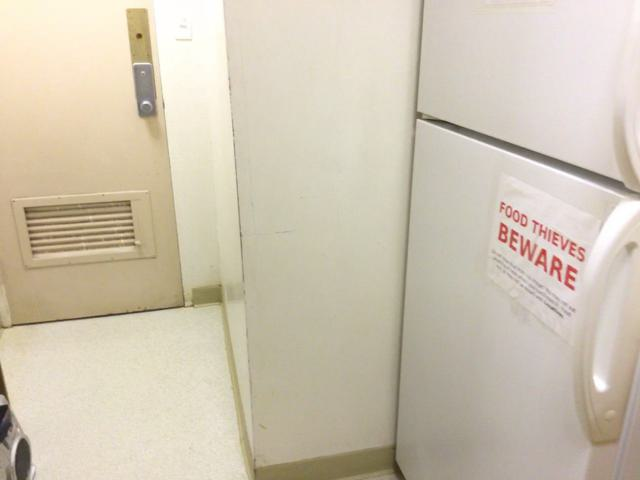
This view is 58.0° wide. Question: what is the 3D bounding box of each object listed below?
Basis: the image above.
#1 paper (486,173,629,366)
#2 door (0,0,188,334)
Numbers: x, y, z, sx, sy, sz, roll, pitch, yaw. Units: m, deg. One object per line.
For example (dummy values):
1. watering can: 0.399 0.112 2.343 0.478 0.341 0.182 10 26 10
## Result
1. paper: 0.380 0.030 0.980 0.020 0.220 0.330 -5 20 -12
2. door: -1.090 -0.390 2.550 0.860 1.650 0.110 -5 20 -12
